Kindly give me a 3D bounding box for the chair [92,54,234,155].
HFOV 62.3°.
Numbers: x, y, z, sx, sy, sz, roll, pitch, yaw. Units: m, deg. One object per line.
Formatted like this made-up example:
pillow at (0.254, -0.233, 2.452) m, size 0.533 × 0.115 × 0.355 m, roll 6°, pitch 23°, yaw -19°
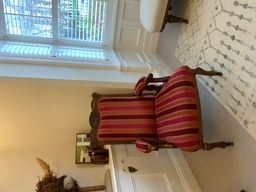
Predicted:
chair at (0.190, 0.150, 1.910) m, size 0.880 × 0.950 × 0.670 m, roll 137°, pitch 133°, yaw -70°
